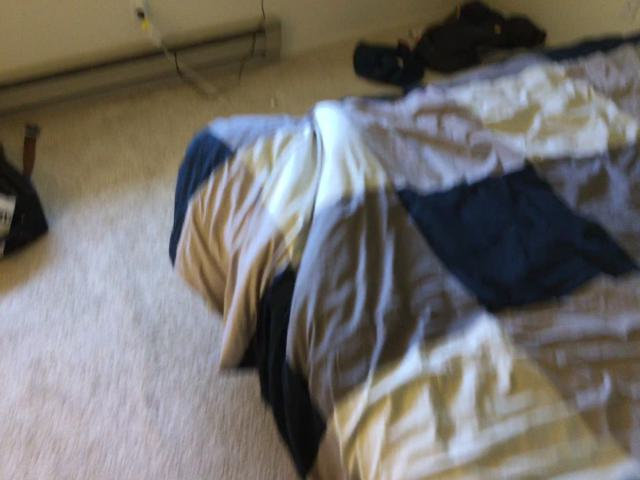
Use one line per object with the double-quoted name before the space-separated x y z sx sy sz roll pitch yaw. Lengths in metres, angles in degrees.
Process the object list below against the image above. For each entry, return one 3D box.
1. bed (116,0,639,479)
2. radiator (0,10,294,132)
"bed" 0.860 0.070 1.520 2.170 0.520 1.790 -21 48 -23
"radiator" -0.840 -0.680 2.370 1.620 0.210 0.090 -21 48 -23
